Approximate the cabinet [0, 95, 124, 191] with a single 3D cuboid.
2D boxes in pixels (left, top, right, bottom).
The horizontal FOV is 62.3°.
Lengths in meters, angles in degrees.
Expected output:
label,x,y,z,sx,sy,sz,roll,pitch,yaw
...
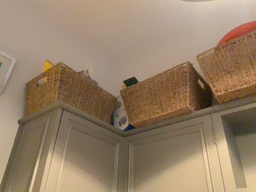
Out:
label,x,y,z,sx,sy,sz,roll,pitch,yaw
cabinet,-0.280,0.420,0.900,0.310,0.680,0.410,-22,-38,33
